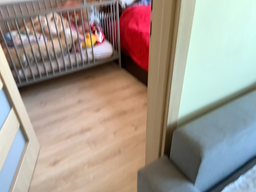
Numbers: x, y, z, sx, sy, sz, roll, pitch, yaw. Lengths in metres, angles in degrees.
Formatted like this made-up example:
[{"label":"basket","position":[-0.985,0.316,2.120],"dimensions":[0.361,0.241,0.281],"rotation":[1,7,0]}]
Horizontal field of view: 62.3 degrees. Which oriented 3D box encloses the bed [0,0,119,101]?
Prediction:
[{"label":"bed","position":[-0.780,-0.610,2.460],"dimensions":[1.160,0.810,0.620],"rotation":[-19,40,-23]}]
